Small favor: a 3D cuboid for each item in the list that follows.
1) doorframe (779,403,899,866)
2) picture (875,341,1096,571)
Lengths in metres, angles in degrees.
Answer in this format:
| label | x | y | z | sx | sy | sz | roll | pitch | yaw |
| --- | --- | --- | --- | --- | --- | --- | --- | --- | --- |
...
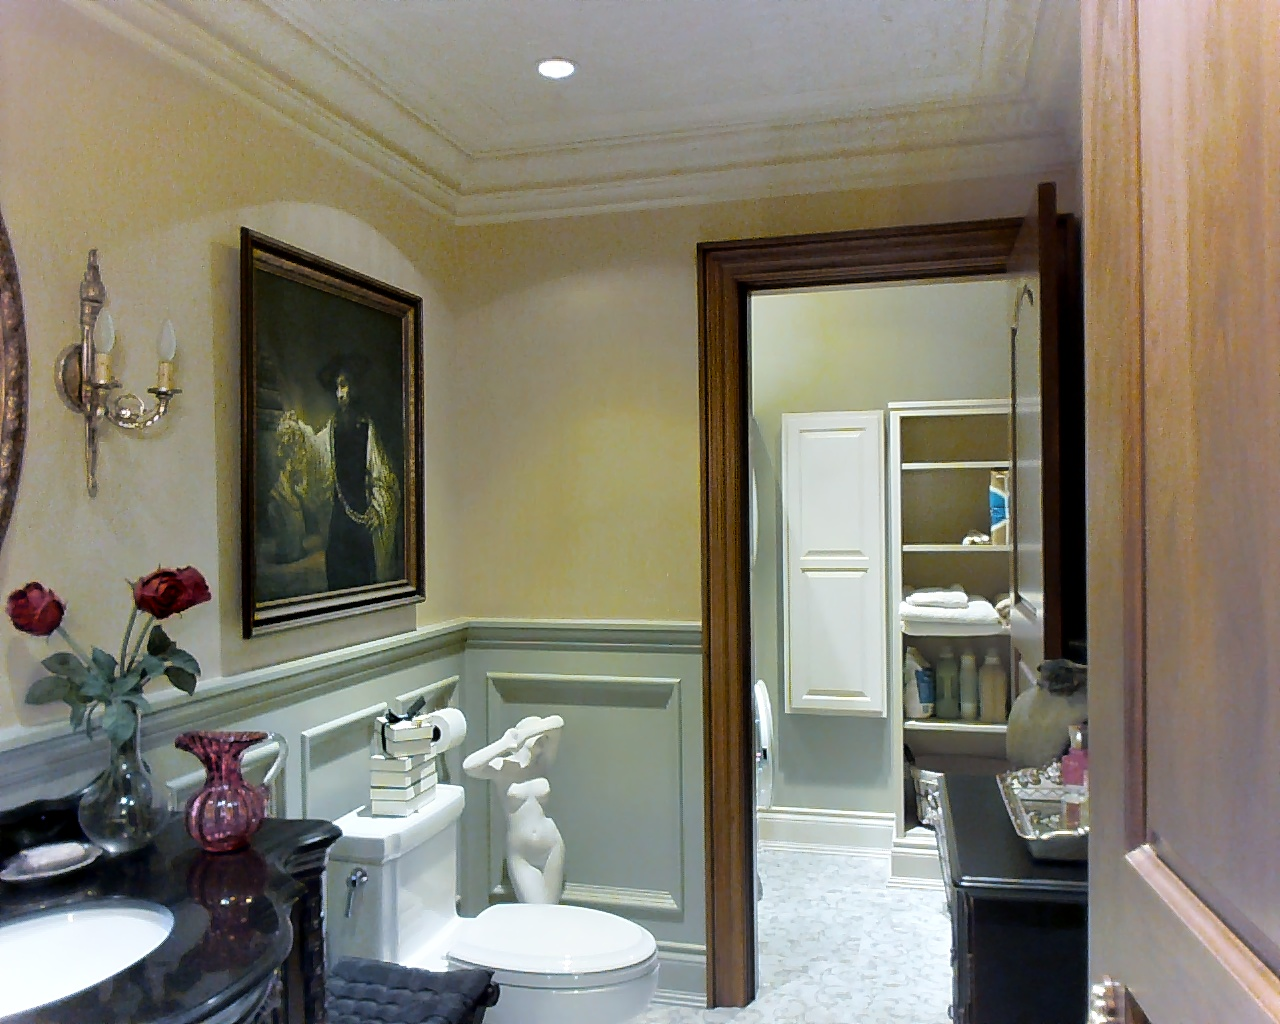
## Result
| label | x | y | z | sx | sy | sz | roll | pitch | yaw |
| --- | --- | --- | --- | --- | --- | --- | --- | --- | --- |
| doorframe | 0.800 | 0.480 | 4.320 | 0.450 | 1.810 | 0.140 | -1 | 0 | 14 |
| picture | 1.350 | -0.210 | 4.240 | 0.820 | 0.880 | 0.080 | -1 | 0 | 14 |
